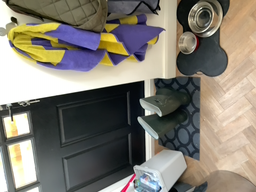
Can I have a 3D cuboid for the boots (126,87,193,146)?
[{"bbox_3d":[0.220,0.120,1.500,0.300,0.350,0.280,14,111,50],"label":"boots"}]
